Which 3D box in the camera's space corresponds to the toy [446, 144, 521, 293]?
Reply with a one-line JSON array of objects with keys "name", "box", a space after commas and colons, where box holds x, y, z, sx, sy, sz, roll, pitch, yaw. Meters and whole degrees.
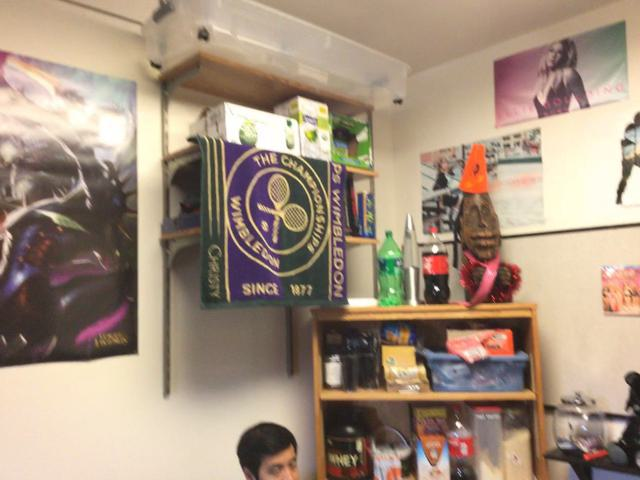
[{"name": "toy", "box": [0.680, -0.070, 2.460, 0.230, 0.570, 0.390, -2, -7, 8]}]

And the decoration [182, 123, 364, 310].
[{"name": "decoration", "box": [-0.150, -0.050, 2.210, 0.750, 0.620, 0.160, 6, -10, -44]}]
